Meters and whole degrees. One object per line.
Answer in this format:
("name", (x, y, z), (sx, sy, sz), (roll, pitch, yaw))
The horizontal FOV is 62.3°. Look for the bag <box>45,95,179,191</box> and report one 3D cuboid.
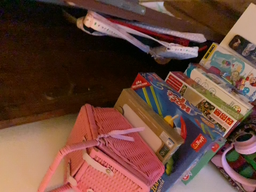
("bag", (-0.050, 0.150, 0.550), (0.250, 0.190, 0.170), (46, 123, 28))
